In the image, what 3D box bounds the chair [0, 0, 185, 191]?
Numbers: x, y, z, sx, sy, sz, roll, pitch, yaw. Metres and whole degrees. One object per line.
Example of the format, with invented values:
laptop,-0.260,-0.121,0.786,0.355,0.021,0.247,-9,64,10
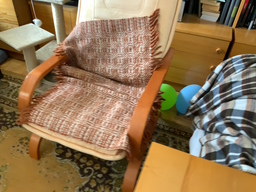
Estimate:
chair,-0.150,-0.160,1.180,0.680,0.960,0.840,16,41,13
